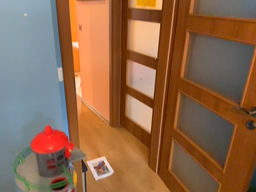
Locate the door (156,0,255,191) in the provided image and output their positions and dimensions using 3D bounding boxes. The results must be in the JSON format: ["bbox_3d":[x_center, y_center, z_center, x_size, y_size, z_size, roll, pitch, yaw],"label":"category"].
[{"bbox_3d":[0.530,0.030,1.440,0.110,2.020,0.800,-7,26,-21],"label":"door"}]
